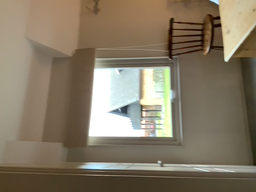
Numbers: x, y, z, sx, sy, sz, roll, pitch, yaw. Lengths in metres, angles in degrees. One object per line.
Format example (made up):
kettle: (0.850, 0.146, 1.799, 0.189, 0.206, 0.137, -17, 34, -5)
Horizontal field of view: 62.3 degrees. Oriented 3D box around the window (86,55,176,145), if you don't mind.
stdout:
window: (0.040, 0.050, 2.620, 0.270, 1.010, 1.060, 72, -162, -75)
